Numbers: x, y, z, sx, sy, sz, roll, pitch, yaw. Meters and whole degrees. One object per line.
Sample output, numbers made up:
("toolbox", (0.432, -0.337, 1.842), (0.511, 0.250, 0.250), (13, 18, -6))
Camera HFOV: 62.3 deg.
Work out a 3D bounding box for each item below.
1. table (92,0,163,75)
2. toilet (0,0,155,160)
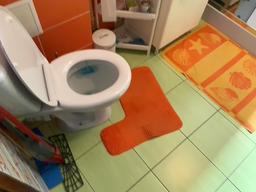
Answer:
("table", (-0.020, -0.560, 1.530), (0.310, 0.710, 0.360), (-36, 68, -23))
("toilet", (-0.310, -0.060, 1.150), (0.680, 0.780, 0.380), (-17, 61, -15))
